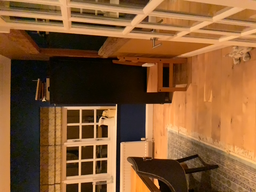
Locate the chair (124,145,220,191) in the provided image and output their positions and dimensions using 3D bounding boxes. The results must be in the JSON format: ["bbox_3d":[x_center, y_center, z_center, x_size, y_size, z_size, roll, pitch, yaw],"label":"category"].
[{"bbox_3d":[0.460,0.930,2.360,0.490,0.900,0.570,-162,73,-74],"label":"chair"}]

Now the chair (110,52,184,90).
[{"bbox_3d":[0.260,-0.330,3.050,0.420,0.980,0.470,-173,83,-75],"label":"chair"}]

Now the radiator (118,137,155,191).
[{"bbox_3d":[0.150,1.750,4.030,0.140,0.660,1.920,-164,75,-75],"label":"radiator"}]
